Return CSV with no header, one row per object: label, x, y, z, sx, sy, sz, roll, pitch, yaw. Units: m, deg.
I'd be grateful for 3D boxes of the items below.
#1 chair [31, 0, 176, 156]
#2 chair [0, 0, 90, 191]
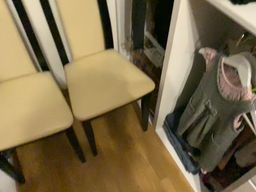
chair,-0.160,-0.210,1.150,0.450,1.050,0.560,-21,56,-16
chair,-0.570,-0.050,1.030,0.460,1.050,0.570,-21,56,-16
